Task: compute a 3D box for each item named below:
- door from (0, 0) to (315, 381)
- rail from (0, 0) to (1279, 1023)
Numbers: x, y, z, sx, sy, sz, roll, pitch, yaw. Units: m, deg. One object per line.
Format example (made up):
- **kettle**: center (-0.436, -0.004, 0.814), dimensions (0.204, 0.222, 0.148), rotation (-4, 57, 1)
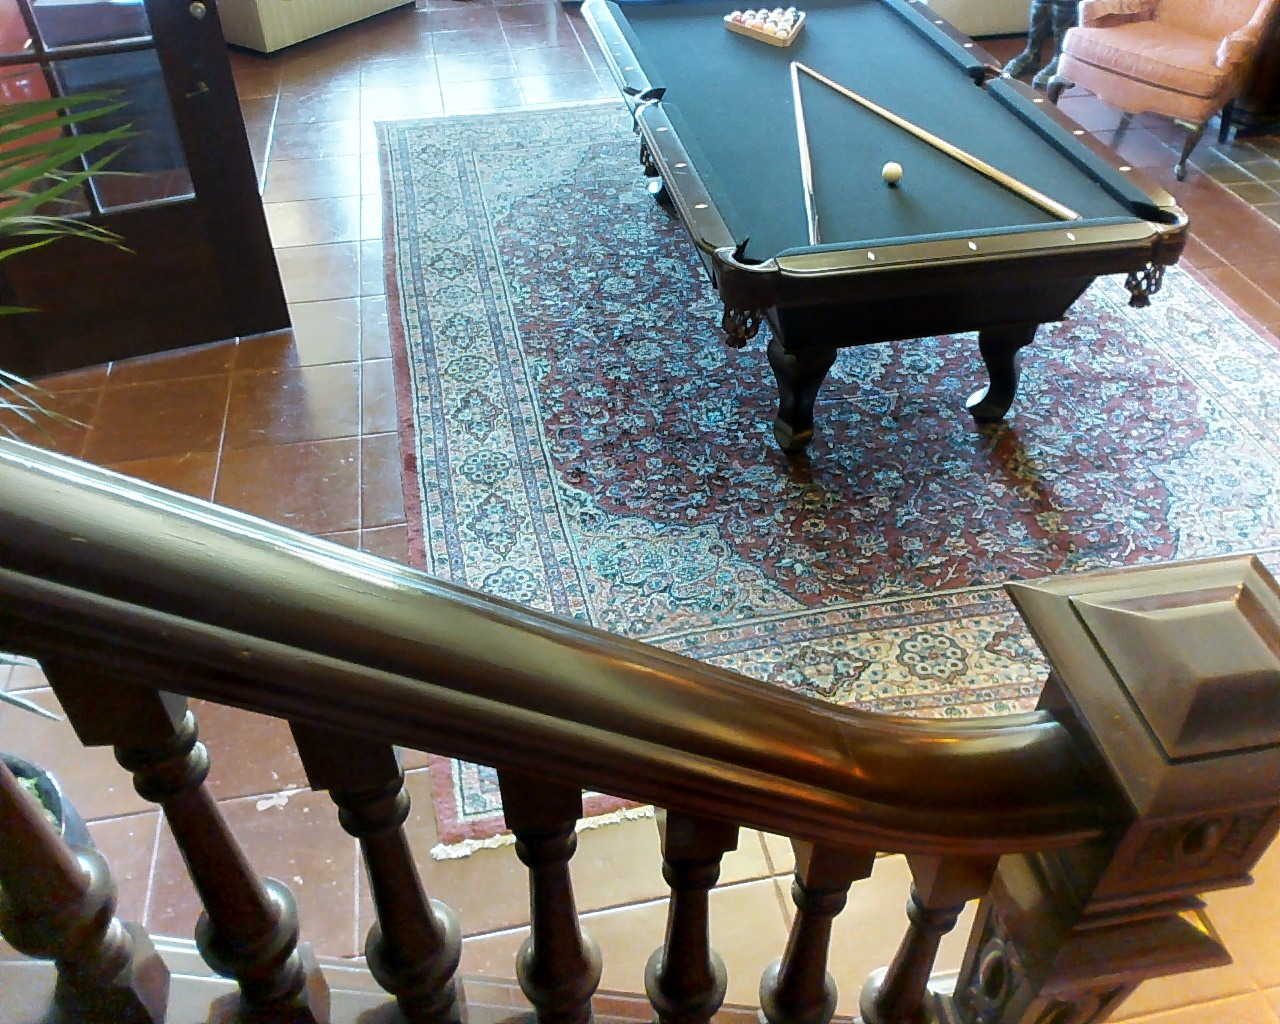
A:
- **door**: center (-1.800, -1.570, 3.140), dimensions (1.160, 2.490, 0.210), rotation (-13, 43, -15)
- **rail**: center (-0.260, 0.290, 1.060), dimensions (2.780, 1.170, 0.460), rotation (-27, 42, 14)
